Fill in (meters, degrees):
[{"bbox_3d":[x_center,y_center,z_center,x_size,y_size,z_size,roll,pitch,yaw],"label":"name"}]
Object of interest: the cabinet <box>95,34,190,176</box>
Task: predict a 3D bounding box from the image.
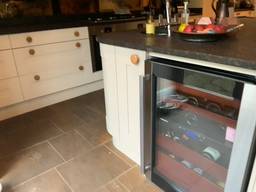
[{"bbox_3d":[0.090,0.030,1.580,0.400,0.870,0.490,-19,30,-36],"label":"cabinet"}]
